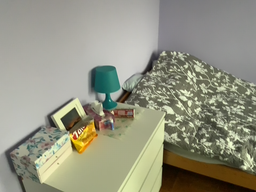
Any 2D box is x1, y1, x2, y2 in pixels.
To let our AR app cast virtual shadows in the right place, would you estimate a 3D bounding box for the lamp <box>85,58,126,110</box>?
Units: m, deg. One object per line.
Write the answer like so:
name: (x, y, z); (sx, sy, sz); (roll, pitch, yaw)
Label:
lamp: (-0.150, -0.090, 1.520); (0.190, 0.290, 0.210); (10, 29, 21)
